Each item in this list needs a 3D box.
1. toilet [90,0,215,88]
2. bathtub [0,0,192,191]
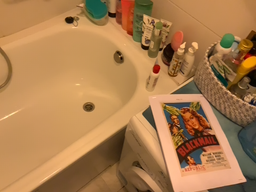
[{"bbox_3d":[0.070,-0.340,1.000,0.170,0.200,0.620,-33,67,-26],"label":"toilet"},{"bbox_3d":[-0.500,0.160,1.020,1.430,0.550,0.680,-32,66,-25],"label":"bathtub"}]
